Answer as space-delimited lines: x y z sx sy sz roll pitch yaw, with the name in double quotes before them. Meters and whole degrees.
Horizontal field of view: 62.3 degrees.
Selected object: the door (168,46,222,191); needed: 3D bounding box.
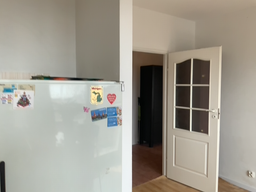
"door" 0.940 0.370 3.100 0.120 2.060 0.780 -2 4 -37
